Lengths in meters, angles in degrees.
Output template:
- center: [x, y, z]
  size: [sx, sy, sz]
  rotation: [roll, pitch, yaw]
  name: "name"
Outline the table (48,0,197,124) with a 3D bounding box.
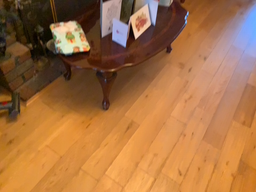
- center: [0.010, -0.400, 1.650]
  size: [0.590, 0.460, 1.000]
  rotation: [29, 54, 15]
  name: "table"
